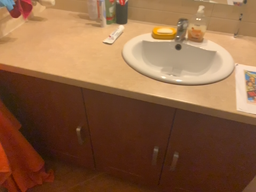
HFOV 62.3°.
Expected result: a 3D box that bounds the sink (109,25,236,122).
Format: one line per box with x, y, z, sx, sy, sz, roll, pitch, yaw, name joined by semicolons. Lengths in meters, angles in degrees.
0.220;-0.140;1.020;0.490;0.170;0.410;14;44;13;sink
